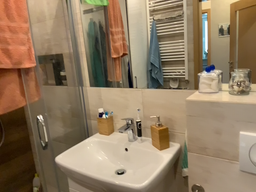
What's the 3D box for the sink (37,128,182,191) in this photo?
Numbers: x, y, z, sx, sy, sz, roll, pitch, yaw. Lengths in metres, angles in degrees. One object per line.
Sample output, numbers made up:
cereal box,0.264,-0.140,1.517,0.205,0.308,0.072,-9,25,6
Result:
sink,-0.100,0.380,1.220,0.690,0.160,0.450,3,14,33
